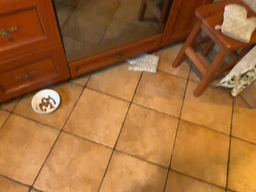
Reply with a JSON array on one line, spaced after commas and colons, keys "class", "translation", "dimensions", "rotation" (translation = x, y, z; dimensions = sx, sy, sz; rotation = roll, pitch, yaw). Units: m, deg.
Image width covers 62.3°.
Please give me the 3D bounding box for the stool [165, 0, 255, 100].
[{"class": "stool", "translation": [0.480, -0.270, 1.250], "dimensions": [0.290, 0.450, 0.330], "rotation": [-21, 64, -18]}]
